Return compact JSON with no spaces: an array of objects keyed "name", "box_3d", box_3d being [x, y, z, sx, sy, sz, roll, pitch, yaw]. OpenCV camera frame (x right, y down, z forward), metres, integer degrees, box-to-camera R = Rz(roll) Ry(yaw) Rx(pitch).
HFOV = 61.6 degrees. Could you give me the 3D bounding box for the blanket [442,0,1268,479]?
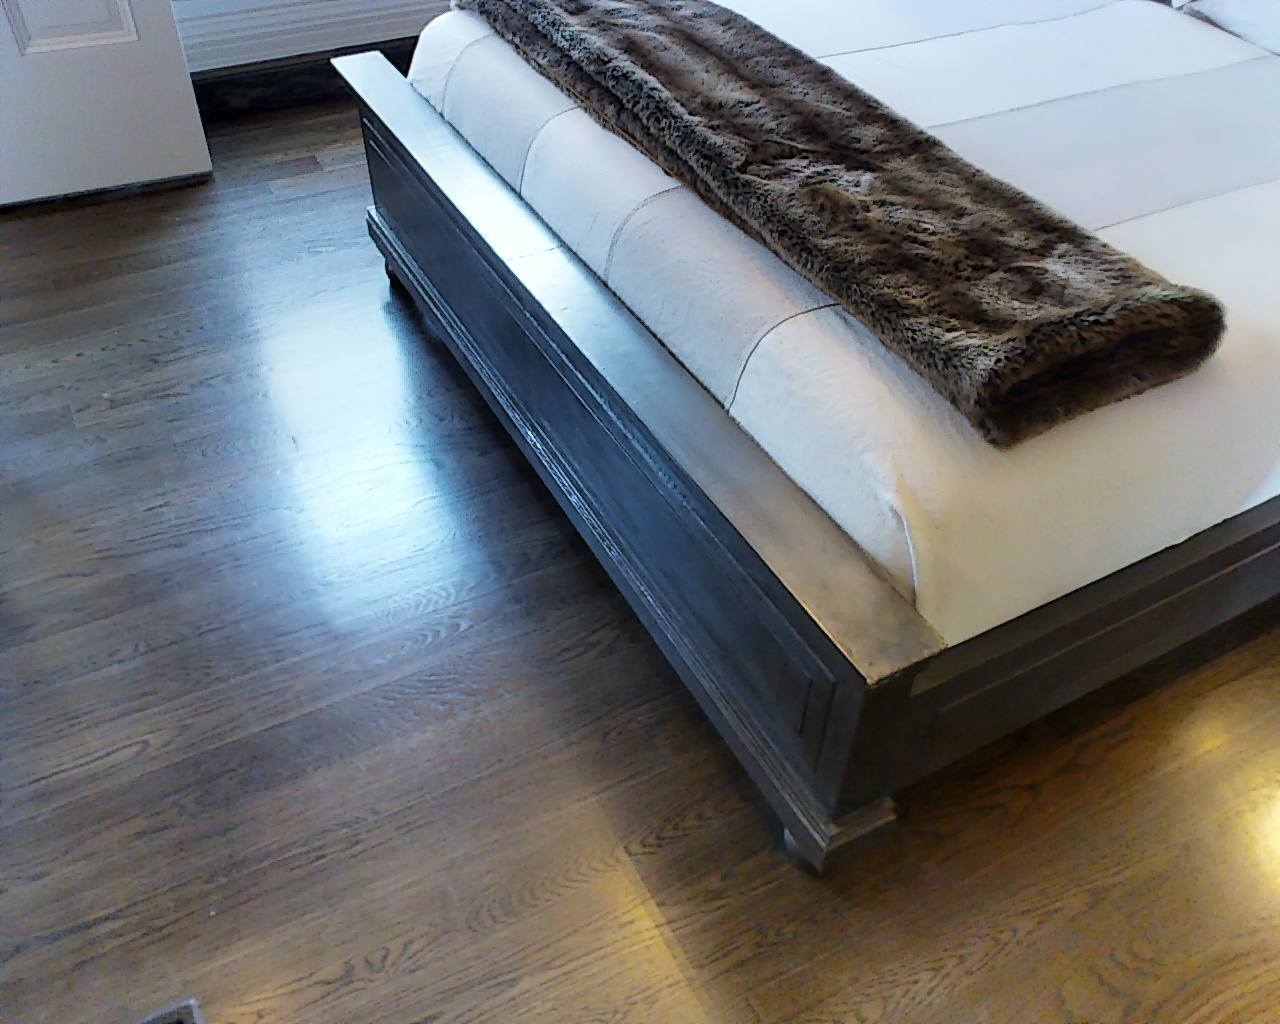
[{"name":"blanket","box_3d":[0.170,-0.730,1.940,0.460,0.140,1.860,-19,47,-20]}]
